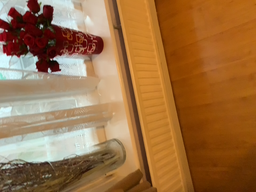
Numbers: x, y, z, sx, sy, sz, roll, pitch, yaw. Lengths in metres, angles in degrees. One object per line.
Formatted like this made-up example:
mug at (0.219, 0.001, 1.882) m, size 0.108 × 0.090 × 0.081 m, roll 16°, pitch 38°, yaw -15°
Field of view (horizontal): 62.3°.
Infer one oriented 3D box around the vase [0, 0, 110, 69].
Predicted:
vase at (-0.330, -0.280, 1.040) m, size 0.110 × 0.510 × 0.270 m, roll -9°, pitch 88°, yaw 42°
